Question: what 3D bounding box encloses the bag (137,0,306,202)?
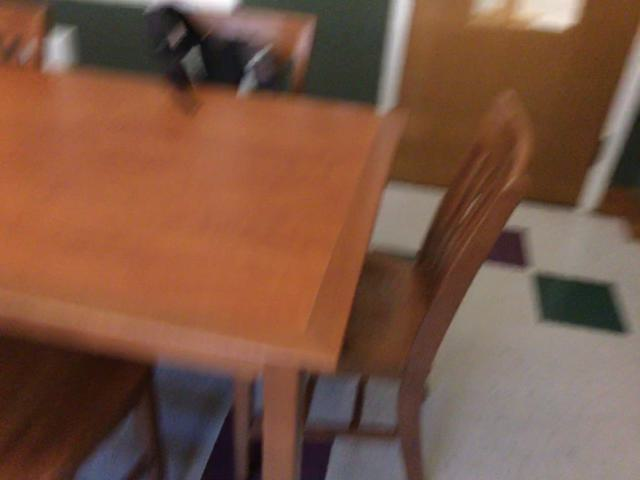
[{"bbox_3d":[-0.280,-0.410,1.660,0.410,0.510,0.250,-6,35,-14],"label":"bag"}]
